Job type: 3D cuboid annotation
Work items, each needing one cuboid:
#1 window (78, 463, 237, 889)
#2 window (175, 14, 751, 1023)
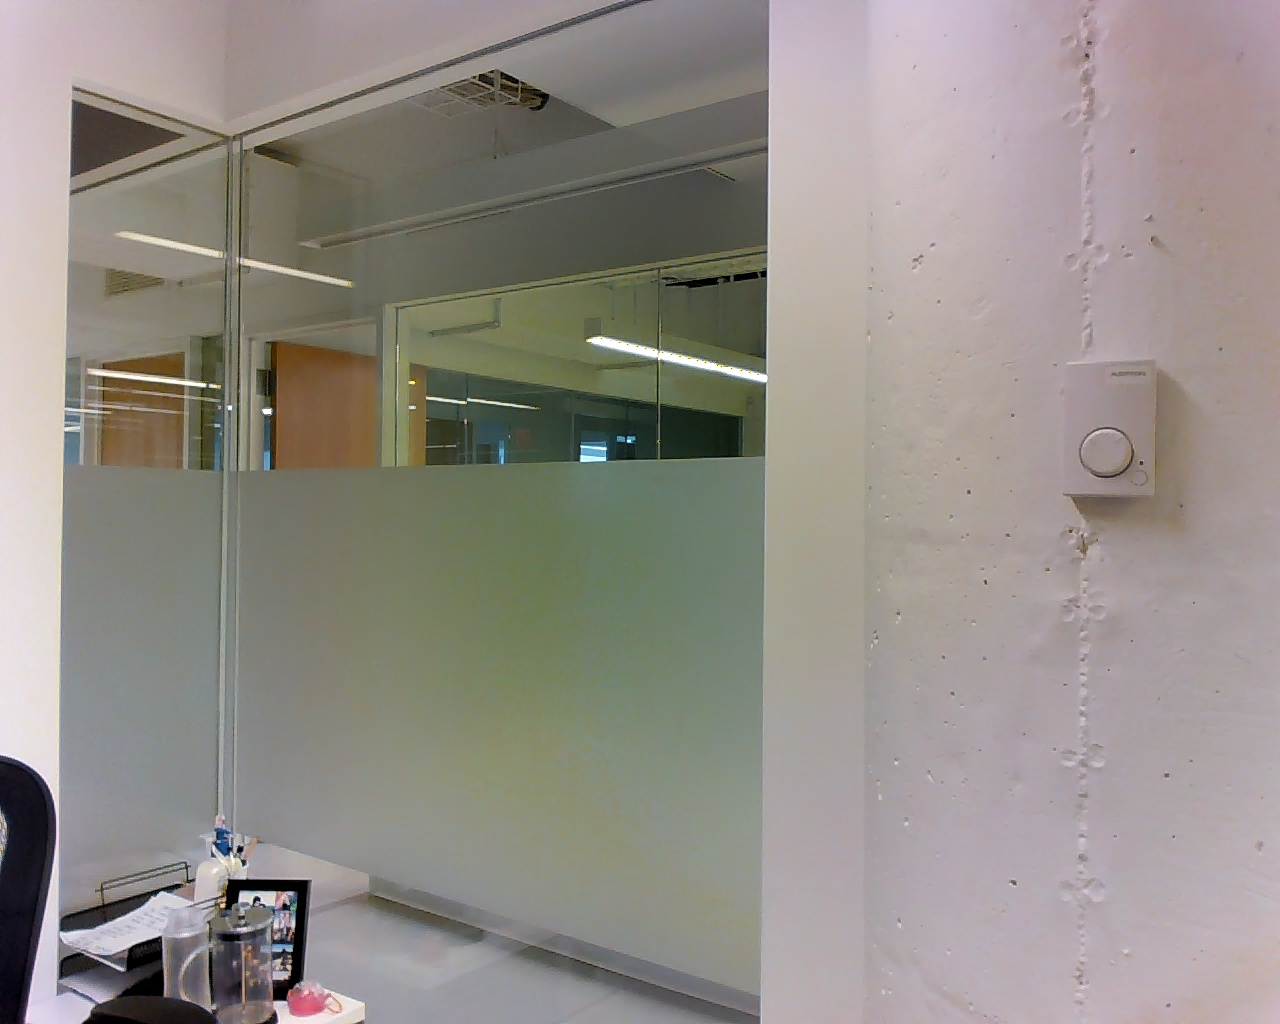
[{"bbox_3d":[-0.960,0.310,2.150,0.030,0.800,0.310,0,-1,36],"label":"window"},{"bbox_3d":[-0.410,0.300,1.920,1.330,2.000,0.090,0,-1,35],"label":"window"}]
